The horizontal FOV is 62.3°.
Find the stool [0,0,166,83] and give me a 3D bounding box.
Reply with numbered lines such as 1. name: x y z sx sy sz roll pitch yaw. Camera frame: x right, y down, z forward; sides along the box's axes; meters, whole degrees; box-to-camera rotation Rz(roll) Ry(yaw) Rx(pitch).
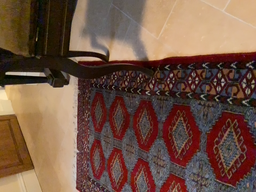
1. stool: -0.190 -0.380 0.820 0.370 0.580 0.580 24 110 44
